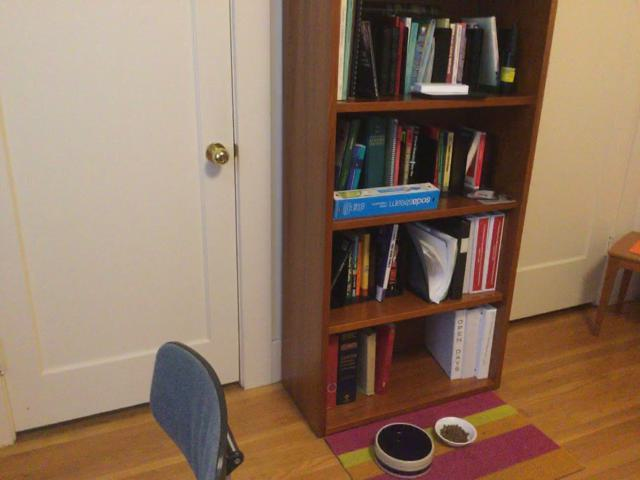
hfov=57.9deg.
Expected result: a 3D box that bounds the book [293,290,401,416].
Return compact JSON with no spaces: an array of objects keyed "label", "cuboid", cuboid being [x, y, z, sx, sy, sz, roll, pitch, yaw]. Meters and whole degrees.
[{"label":"book","cuboid":[0.090,0.390,2.060,0.300,0.310,0.240,-9,21,-23]}]

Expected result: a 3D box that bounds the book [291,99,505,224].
[{"label":"book","cuboid":[0.260,-0.280,1.920,0.670,0.320,0.220,-9,21,-23]}]

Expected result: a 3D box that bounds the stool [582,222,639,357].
[{"label":"stool","cuboid":[1.460,0.220,2.490,0.410,0.430,0.450,18,27,42]}]

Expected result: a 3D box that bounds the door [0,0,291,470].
[{"label":"door","cuboid":[-0.530,-0.330,1.620,0.860,1.970,0.150,-9,21,-23]}]

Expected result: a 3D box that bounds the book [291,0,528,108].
[{"label":"book","cuboid":[0.270,-0.590,1.770,0.660,0.300,0.270,-9,21,-23]}]

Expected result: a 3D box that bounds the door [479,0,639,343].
[{"label":"door","cuboid":[1.040,-0.550,2.320,0.730,1.970,0.070,-9,21,-23]}]

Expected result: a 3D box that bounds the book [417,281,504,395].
[{"label":"book","cuboid":[0.520,0.360,2.190,0.140,0.300,0.310,-9,21,-23]}]

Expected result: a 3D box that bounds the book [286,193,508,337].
[{"label":"book","cuboid":[0.260,0.060,2.000,0.680,0.310,0.310,-9,21,-23]}]

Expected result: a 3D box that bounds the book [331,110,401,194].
[{"label":"book","cuboid":[0.140,-0.290,1.860,0.120,0.220,0.240,-9,21,-23]}]

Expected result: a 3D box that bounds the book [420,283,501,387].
[{"label":"book","cuboid":[0.520,0.350,2.180,0.150,0.280,0.260,-9,21,-23]}]
